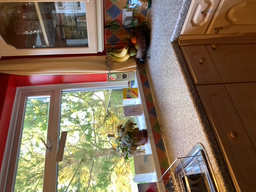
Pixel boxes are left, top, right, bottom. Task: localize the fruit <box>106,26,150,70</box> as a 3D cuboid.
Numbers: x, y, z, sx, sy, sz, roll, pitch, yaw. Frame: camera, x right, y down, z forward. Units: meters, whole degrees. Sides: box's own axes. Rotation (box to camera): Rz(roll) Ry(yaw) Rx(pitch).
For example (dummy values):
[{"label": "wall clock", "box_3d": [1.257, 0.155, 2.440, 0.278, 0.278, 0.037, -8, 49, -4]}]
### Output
[{"label": "fruit", "box_3d": [-0.010, -0.410, 1.820, 0.170, 0.320, 0.310, 114, 151, -71]}]
